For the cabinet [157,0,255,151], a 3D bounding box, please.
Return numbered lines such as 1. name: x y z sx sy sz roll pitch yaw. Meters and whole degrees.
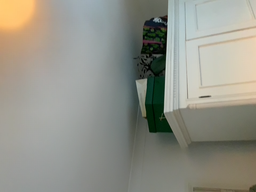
1. cabinet: 1.330 -0.360 1.640 0.780 1.990 1.340 56 -145 -50
